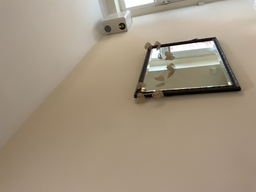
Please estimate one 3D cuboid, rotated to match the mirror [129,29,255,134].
[{"bbox_3d":[0.510,-0.230,1.840,1.410,0.760,0.130,-73,-27,-53],"label":"mirror"}]
